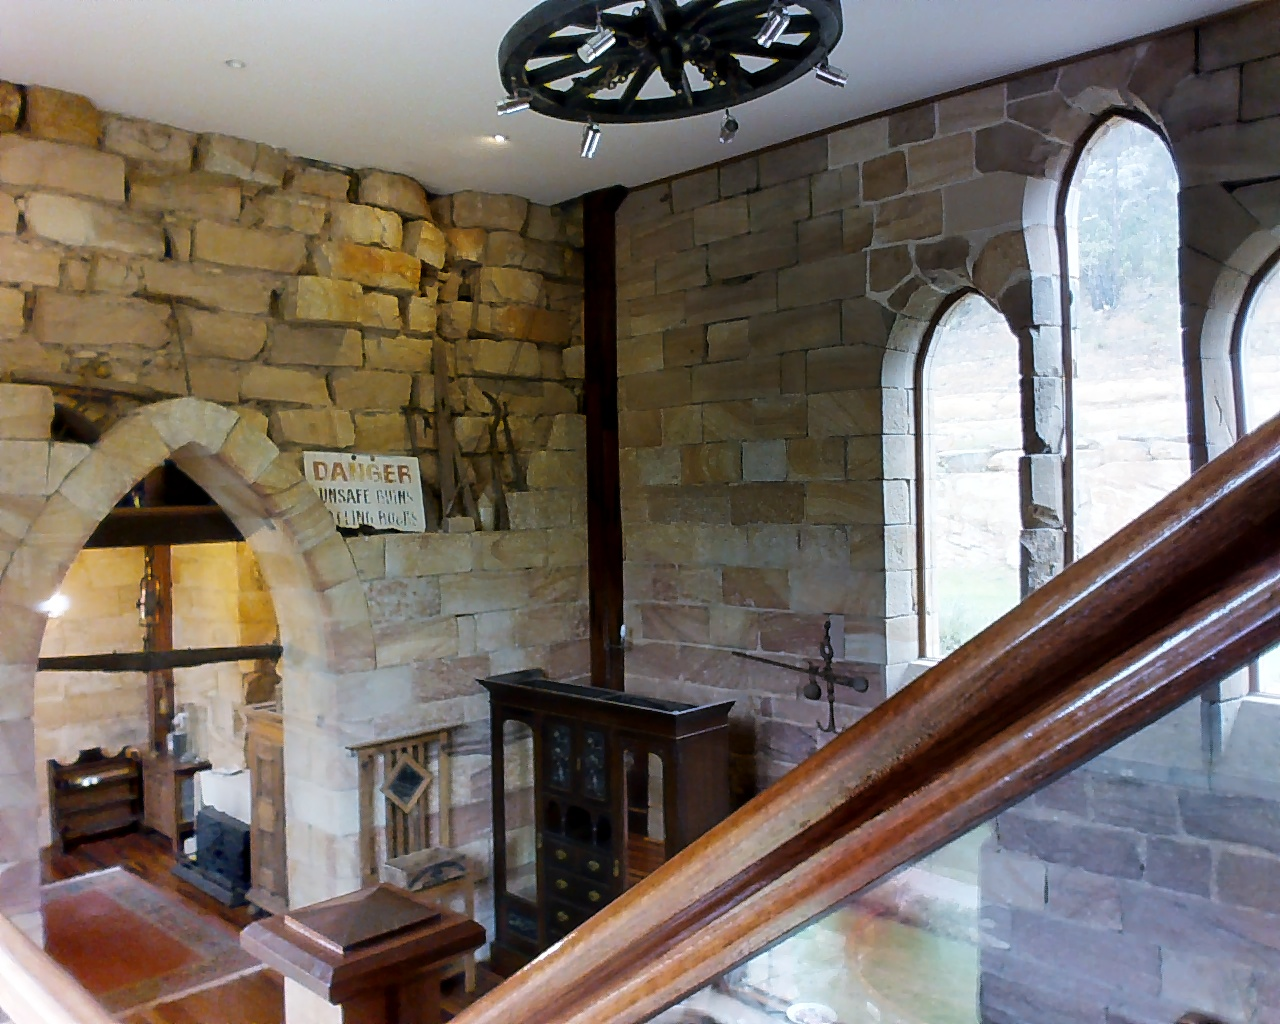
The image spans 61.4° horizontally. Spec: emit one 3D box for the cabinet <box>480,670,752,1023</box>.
[{"bbox_3d":[-0.230,2.361,7.620,2.069,2.211,0.640,0,1,44],"label":"cabinet"}]
